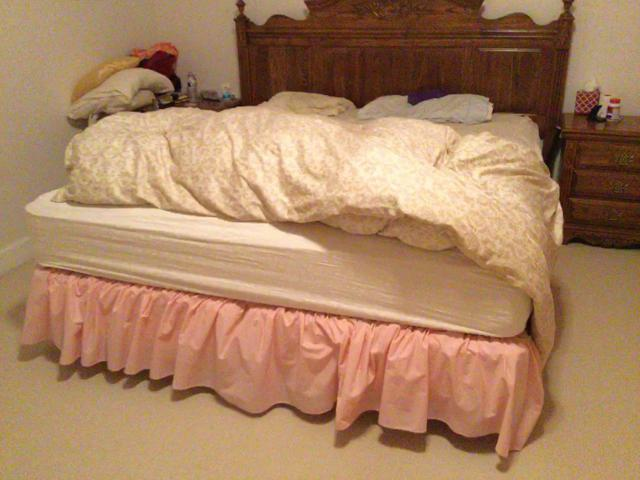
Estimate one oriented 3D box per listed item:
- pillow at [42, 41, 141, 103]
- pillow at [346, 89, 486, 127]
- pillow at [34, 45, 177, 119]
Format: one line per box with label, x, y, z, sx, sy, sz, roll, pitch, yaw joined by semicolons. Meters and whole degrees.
pillow;-1.290;-0.970;3.310;0.260;0.310;0.450;5;20;18
pillow;0.560;-0.770;3.330;0.730;0.160;0.410;5;20;18
pillow;-1.200;-0.920;3.320;0.440;0.360;0.620;5;20;18
